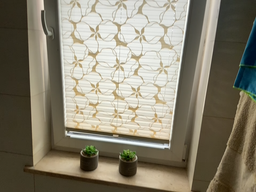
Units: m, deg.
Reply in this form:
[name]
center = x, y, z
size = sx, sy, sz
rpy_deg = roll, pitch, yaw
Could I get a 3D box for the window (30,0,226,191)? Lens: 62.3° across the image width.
[window]
center = -0.030, -0.290, 1.050
size = 0.880, 1.510, 0.160
rpy_deg = 7, 14, 9
